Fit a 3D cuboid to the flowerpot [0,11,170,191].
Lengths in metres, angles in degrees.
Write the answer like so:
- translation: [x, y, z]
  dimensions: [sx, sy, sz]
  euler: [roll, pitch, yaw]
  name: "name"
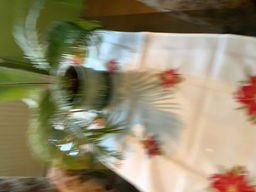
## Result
- translation: [-0.300, -0.030, 0.770]
  dimensions: [0.620, 0.550, 0.350]
  euler: [21, 98, 43]
  name: "flowerpot"
